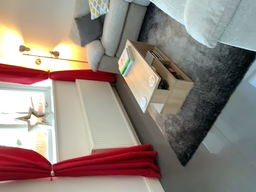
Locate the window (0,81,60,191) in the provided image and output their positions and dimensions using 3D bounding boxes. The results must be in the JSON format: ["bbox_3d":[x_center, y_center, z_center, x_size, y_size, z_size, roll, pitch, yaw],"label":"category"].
[{"bbox_3d":[-1.530,0.430,2.800,2.060,1.050,0.180,-119,40,-50],"label":"window"}]

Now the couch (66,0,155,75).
[{"bbox_3d":[-0.380,-1.150,3.340,1.050,0.930,1.160,-116,38,-50],"label":"couch"}]
